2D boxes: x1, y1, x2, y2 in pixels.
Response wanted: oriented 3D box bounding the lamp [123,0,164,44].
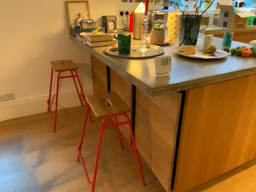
[{"bbox_3d":[0.130,-0.820,2.000,0.240,0.570,0.350,-11,28,-23],"label":"lamp"}]
